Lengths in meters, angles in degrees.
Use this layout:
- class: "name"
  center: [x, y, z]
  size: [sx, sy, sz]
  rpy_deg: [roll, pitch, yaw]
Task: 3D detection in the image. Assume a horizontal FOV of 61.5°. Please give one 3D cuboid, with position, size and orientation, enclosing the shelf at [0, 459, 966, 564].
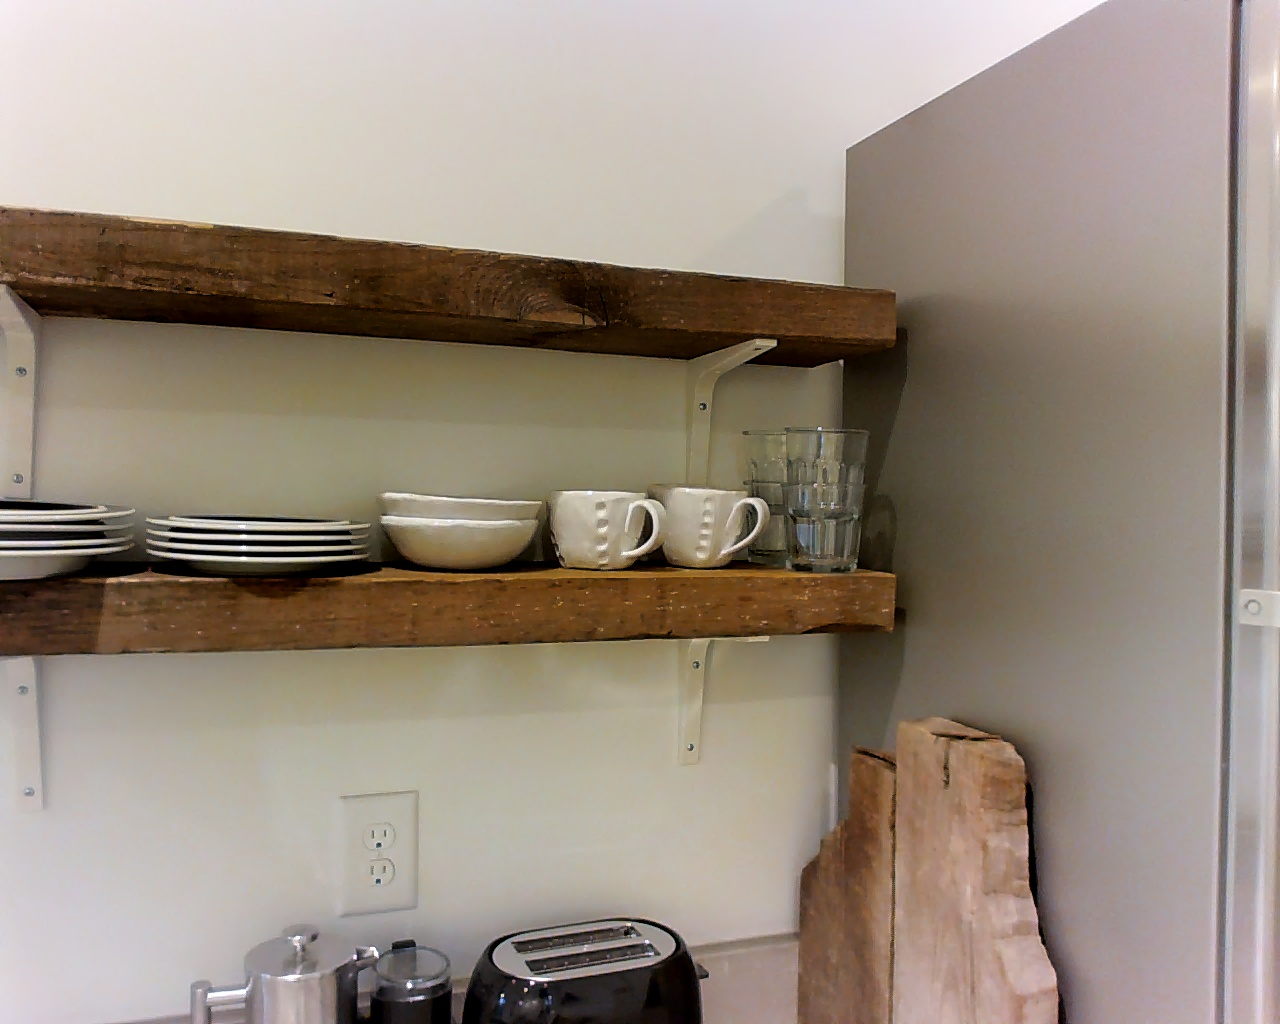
- class: "shelf"
  center: [-0.210, 0.000, 1.060]
  size: [1.070, 0.080, 0.260]
  rpy_deg: [0, 1, -20]

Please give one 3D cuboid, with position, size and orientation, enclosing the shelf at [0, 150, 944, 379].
- class: "shelf"
  center: [-0.210, -0.230, 1.080]
  size: [1.070, 0.120, 0.200]
  rpy_deg: [0, 1, -20]
